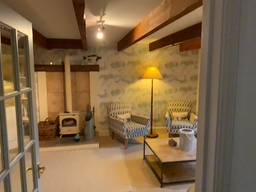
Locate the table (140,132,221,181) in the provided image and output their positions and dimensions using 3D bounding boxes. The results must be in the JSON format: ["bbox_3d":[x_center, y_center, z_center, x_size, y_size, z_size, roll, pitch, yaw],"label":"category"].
[{"bbox_3d":[0.830,0.980,3.660,1.000,0.360,0.990,-2,8,-13],"label":"table"}]
